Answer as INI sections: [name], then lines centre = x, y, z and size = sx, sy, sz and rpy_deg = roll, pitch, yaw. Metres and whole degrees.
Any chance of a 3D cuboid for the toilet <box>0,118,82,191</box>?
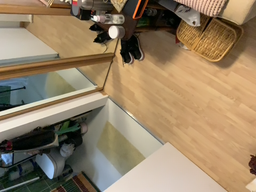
[toilet]
centre = -1.260, 0.860, 3.000
size = 0.720, 0.860, 0.530
rpy_deg = 38, 126, 25
